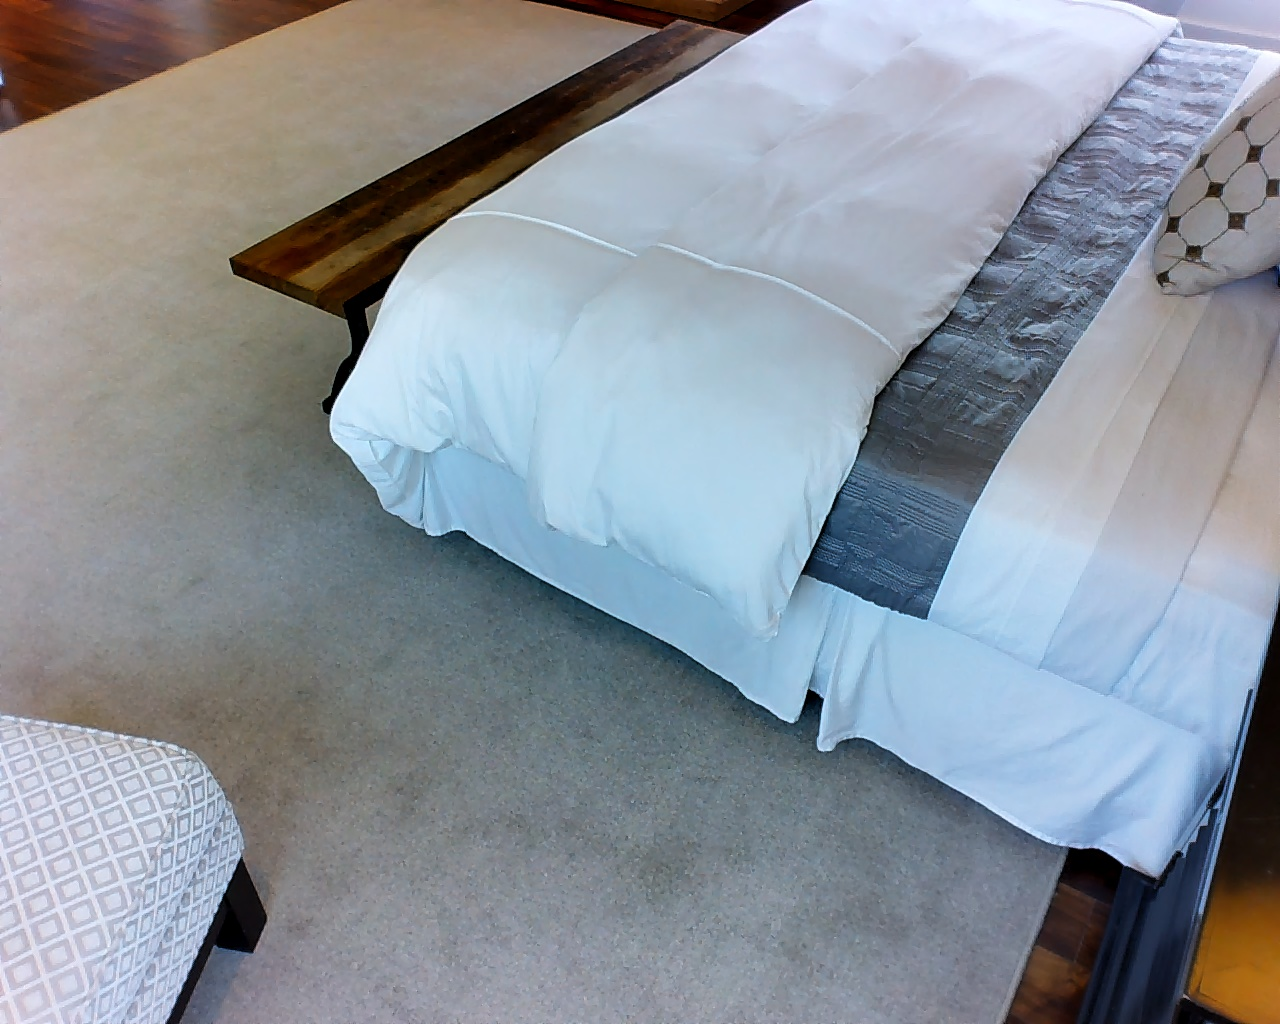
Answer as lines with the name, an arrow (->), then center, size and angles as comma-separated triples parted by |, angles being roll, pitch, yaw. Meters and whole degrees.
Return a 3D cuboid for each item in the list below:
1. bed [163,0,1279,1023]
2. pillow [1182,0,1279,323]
bed -> 0.840, -0.500, 2.290 | 2.280, 0.860, 2.370 | 23, 46, 23
pillow -> 1.050, -0.600, 1.770 | 0.210, 0.410, 0.460 | -9, 24, 27
